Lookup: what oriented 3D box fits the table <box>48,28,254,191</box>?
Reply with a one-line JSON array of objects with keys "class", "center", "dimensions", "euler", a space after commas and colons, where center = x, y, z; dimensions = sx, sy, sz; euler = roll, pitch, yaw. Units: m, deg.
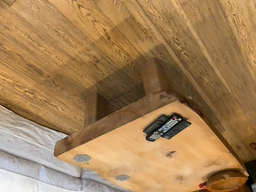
[{"class": "table", "center": [0.240, 0.290, 1.480], "dimensions": [0.790, 0.430, 1.220], "euler": [-28, 135, 24]}]
